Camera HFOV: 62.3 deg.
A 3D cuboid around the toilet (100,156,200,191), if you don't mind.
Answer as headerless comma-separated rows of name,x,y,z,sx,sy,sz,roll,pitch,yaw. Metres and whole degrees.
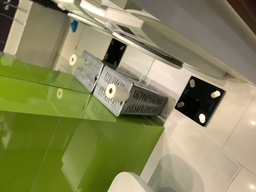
toilet,0.100,0.760,1.430,0.400,0.480,0.540,39,108,43
